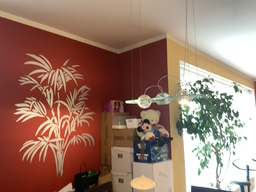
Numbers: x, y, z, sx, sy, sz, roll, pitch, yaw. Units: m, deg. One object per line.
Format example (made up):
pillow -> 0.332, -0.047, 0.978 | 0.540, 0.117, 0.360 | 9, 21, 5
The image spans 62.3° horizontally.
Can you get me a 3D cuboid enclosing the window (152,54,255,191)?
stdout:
window -> 1.650, 0.920, 3.820 | 0.260, 2.510, 3.730 | -7, -9, 41
